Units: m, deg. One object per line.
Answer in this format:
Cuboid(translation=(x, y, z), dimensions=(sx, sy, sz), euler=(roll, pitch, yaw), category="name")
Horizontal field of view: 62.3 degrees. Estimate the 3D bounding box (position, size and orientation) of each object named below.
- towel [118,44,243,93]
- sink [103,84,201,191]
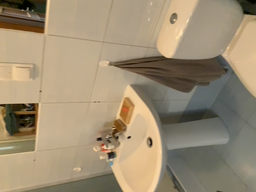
Cuboid(translation=(0.350, -0.140, 1.280), dimensions=(0.080, 0.820, 0.230), euler=(57, 137, 44), category="towel")
Cuboid(translation=(0.070, 0.320, 1.230), dimensions=(0.470, 0.160, 0.620), euler=(57, 137, 44), category="sink")
